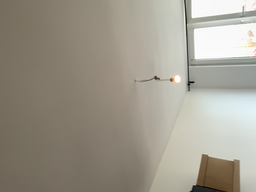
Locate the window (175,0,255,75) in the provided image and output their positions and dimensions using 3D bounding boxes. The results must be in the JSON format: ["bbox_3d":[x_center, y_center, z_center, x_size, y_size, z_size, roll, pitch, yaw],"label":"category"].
[{"bbox_3d":[1.690,-1.160,3.160,0.200,1.870,1.700,-49,-46,-53],"label":"window"}]
